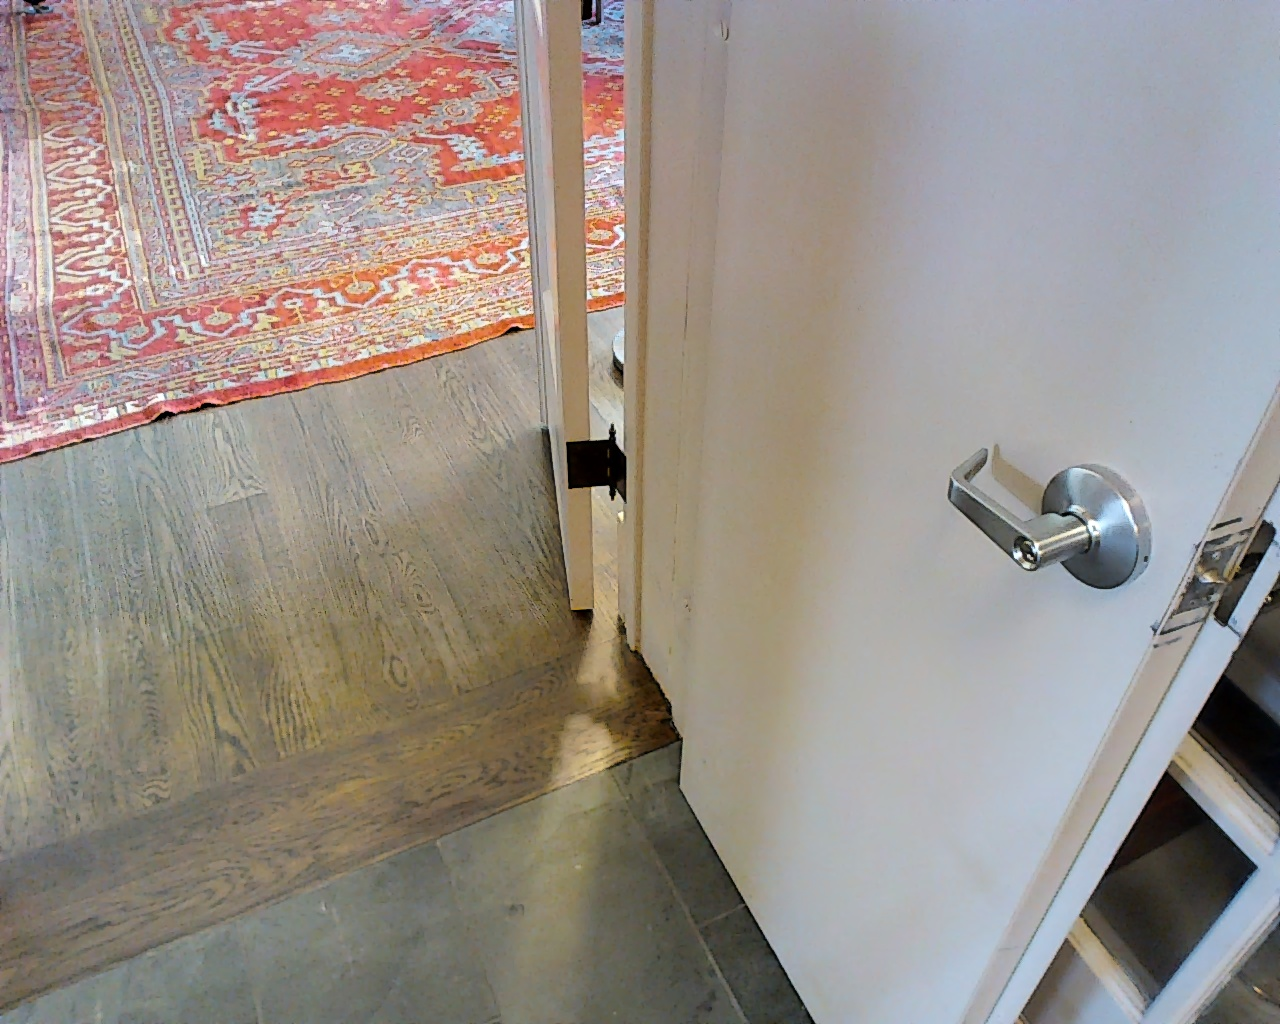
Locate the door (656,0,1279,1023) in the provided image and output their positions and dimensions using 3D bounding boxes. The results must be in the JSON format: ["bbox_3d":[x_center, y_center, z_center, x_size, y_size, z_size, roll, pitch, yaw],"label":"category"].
[{"bbox_3d":[0.220,-0.150,0.870,0.060,2.120,0.710,-17,45,-19],"label":"door"}]
